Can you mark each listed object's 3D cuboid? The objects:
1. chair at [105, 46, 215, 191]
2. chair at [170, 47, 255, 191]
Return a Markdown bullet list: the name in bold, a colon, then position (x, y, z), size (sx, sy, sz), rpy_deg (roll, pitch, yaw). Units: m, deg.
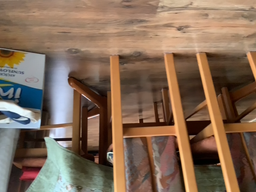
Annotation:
- **chair**: position (0.110, 0.330, 1.060), size (0.400, 1.030, 0.490), rpy_deg (-2, 157, -3)
- **chair**: position (0.530, 0.320, 1.090), size (0.400, 1.030, 0.470), rpy_deg (-2, 157, -3)
